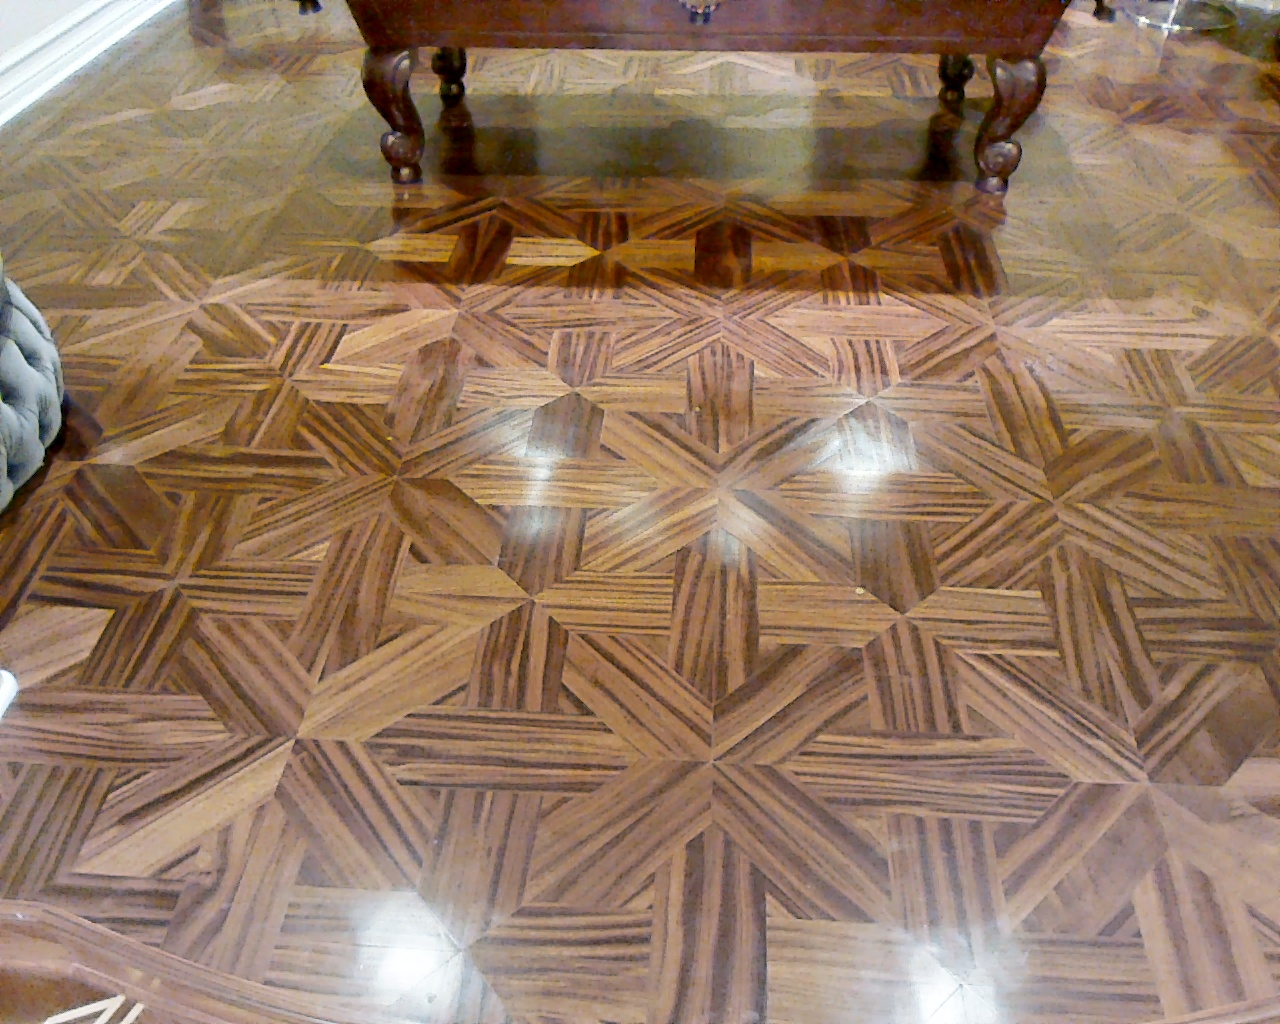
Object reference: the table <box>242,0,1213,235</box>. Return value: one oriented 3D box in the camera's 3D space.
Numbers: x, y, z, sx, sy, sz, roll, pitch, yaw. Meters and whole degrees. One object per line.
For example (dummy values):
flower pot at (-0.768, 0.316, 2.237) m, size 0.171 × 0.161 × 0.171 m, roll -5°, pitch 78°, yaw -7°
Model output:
table at (0.250, -1.680, 3.640) m, size 2.640 × 0.830 × 1.450 m, roll 2°, pitch 41°, yaw 3°
